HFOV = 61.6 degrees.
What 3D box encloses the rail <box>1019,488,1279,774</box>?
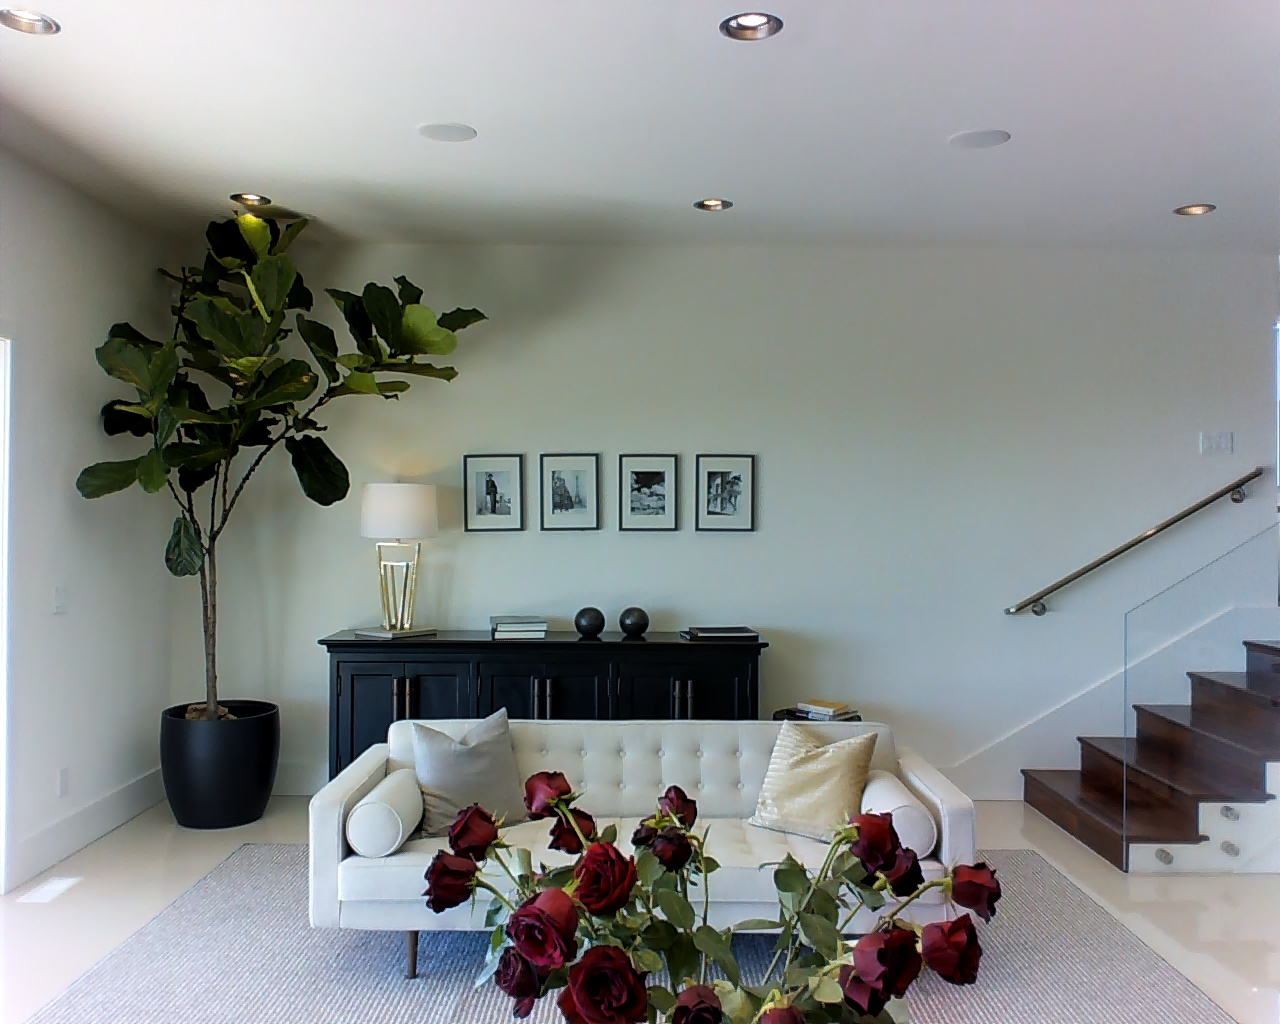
[{"bbox_3d":[2.820,0.640,5.850,1.460,1.540,0.140,0,0,0],"label":"rail"}]
